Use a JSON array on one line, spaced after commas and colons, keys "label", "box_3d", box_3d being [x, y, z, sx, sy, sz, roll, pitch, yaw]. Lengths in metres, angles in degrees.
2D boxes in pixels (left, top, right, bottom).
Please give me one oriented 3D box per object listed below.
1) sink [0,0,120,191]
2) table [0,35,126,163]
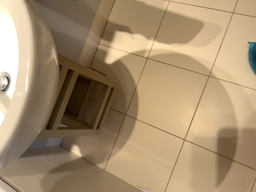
[{"label": "sink", "box_3d": [-0.330, -0.030, 0.500, 0.450, 0.210, 0.450, 20, 89, 22]}, {"label": "table", "box_3d": [-0.290, 0.030, 0.920, 0.270, 0.610, 0.330, 20, 89, 22]}]
